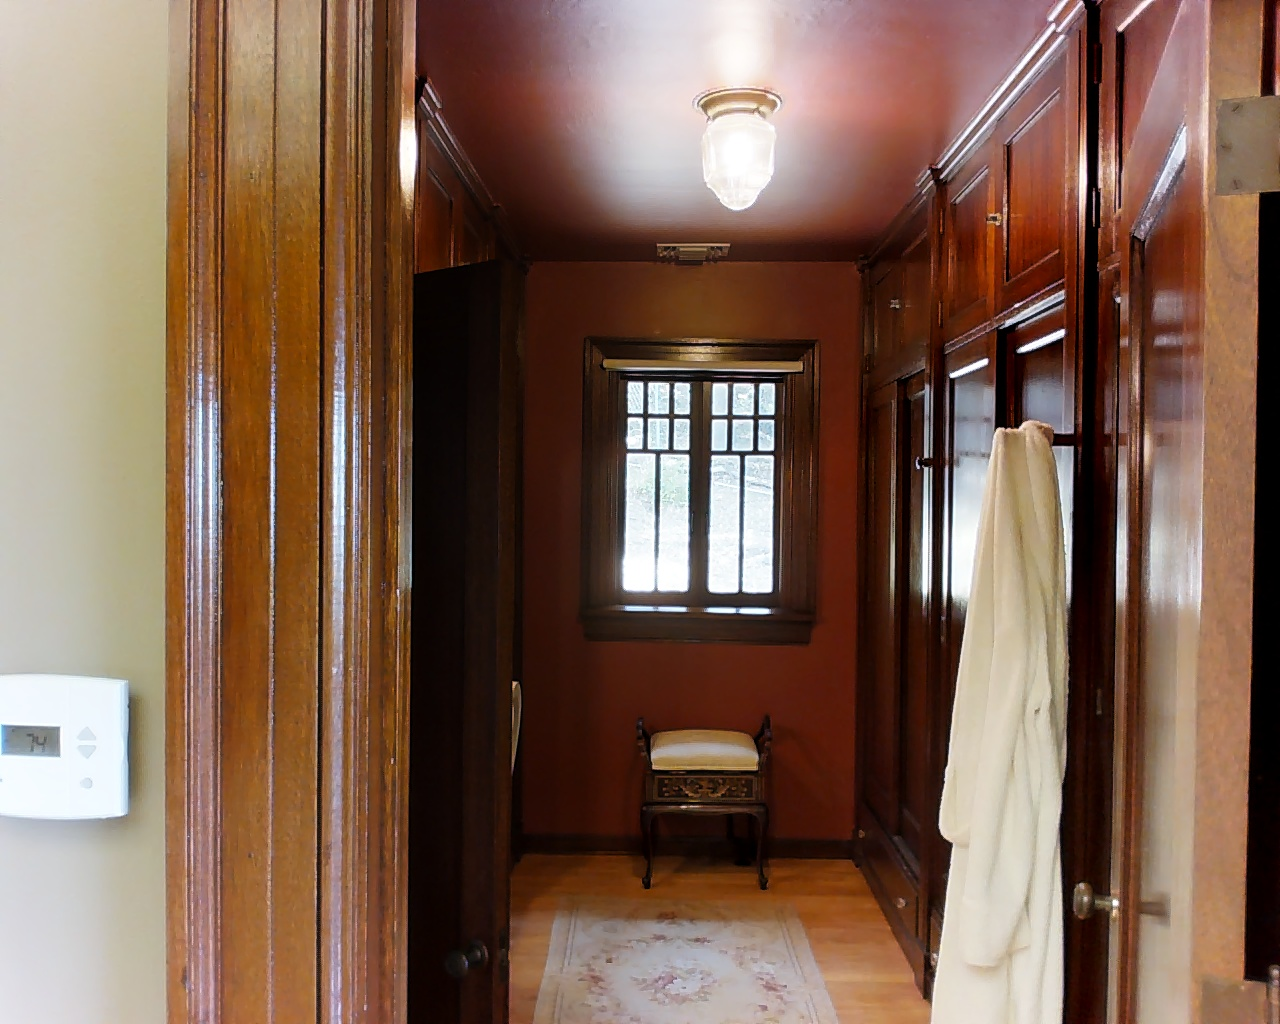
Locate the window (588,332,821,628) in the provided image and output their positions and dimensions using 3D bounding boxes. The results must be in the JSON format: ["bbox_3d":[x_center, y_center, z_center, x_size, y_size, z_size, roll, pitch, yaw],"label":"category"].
[{"bbox_3d":[0.280,-0.140,4.740,0.990,1.270,0.200,0,0,2],"label":"window"}]

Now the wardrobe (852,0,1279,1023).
[{"bbox_3d":[0.920,0.240,2.840,0.110,2.570,3.690,0,0,2],"label":"wardrobe"}]
